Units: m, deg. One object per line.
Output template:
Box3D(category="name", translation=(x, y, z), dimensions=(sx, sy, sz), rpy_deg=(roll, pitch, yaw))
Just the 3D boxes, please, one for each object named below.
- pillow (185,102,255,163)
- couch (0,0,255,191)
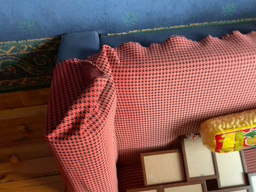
Box3D(category="pillow", translation=(0.570, 0.120, 0.880), dimensions=(0.640, 0.110, 0.190), rpy_deg=(-12, 134, 1))
Box3D(category="couch", translation=(0.480, 0.240, 1.030), dimensions=(1.490, 0.810, 1.070), rpy_deg=(-7, 134, -4))
